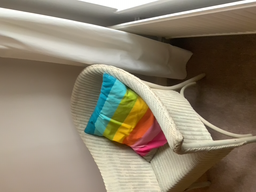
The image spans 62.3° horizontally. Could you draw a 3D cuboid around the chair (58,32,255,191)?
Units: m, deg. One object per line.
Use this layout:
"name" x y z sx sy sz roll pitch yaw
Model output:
"chair" 0.140 0.170 1.170 0.670 0.770 0.650 60 137 35
